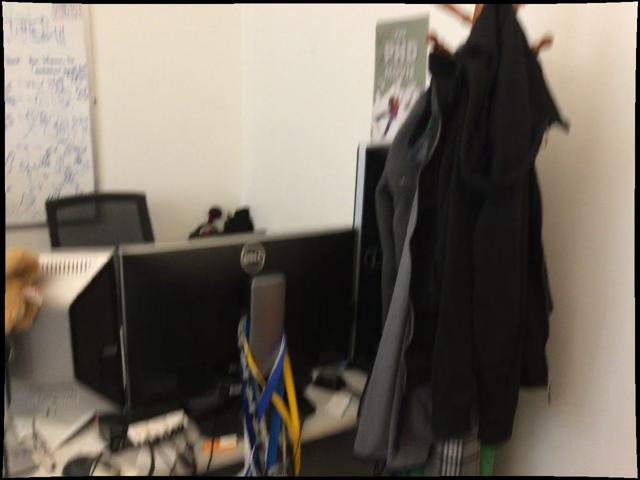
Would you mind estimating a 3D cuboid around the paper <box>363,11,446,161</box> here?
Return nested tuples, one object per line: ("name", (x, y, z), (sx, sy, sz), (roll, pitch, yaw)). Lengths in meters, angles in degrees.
("paper", (0.260, -0.490, 1.860), (0.060, 0.430, 0.320), (-7, 18, -28))

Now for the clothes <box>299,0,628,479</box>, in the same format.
("clothes", (0.250, 0.180, 1.350), (0.410, 1.451, 0.490), (-7, 17, -27))

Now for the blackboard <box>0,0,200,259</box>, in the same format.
("blackboard", (-1.588, -0.711, 2.260), (2.208, 1.662, 0.120), (-7, 18, -28))
